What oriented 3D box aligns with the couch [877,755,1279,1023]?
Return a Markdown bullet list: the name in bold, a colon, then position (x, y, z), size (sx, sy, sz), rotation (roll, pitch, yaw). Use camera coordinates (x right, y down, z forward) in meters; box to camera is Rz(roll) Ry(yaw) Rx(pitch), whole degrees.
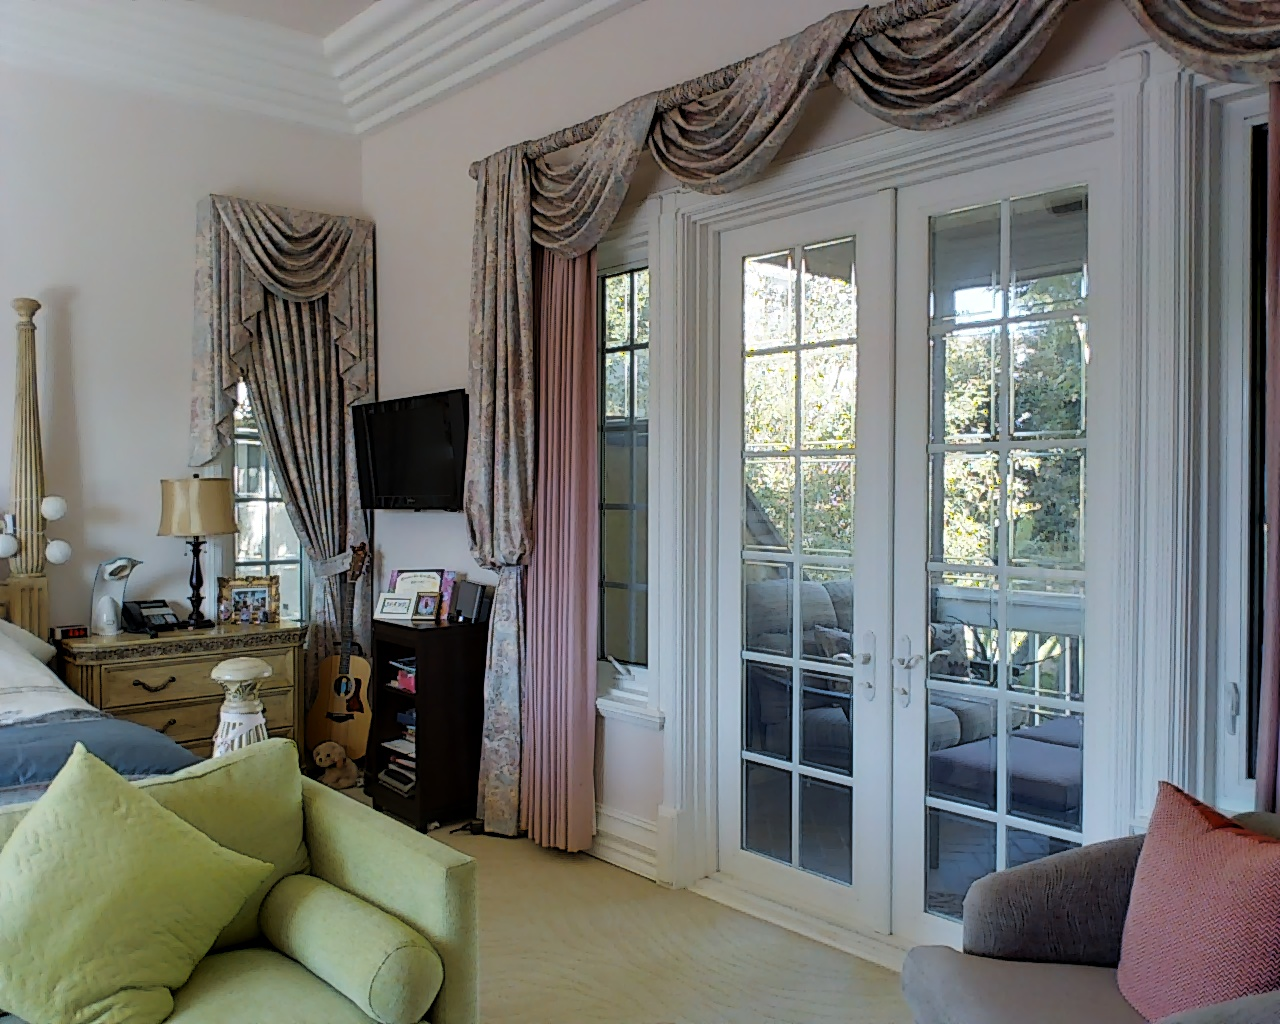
- **couch**: position (0.980, 0.950, 1.940), size (0.880, 0.820, 0.830), rotation (1, 1, -3)
